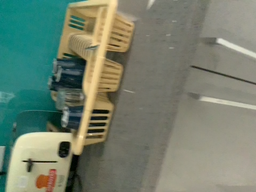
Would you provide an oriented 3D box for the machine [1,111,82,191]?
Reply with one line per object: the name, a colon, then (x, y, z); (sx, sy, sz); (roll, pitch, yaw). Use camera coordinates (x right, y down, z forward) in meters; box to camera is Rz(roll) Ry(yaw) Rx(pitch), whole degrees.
machine: (-0.300, 0.230, 0.710); (0.170, 0.190, 0.300); (35, 113, 58)
